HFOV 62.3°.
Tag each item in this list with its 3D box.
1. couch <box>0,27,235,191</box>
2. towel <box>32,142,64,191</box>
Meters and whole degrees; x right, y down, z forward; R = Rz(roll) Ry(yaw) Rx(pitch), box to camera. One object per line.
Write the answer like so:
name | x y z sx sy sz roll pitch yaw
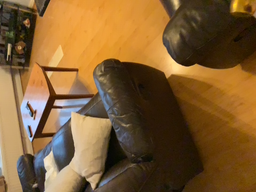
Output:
couch | -0.480 0.670 1.650 1.990 0.920 1.050 -40 61 38
towel | -0.720 0.660 1.880 0.280 0.090 0.400 -45 58 35
